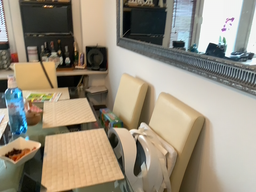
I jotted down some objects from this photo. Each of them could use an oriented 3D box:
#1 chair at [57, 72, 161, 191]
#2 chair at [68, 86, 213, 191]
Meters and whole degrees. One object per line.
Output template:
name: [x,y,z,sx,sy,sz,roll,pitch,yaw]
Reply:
chair: [-0.170,0.370,1.610,0.620,1.000,0.440,-4,20,-18]
chair: [0.000,0.510,1.200,0.570,1.010,0.480,-4,20,-18]
